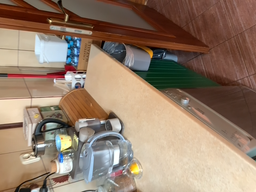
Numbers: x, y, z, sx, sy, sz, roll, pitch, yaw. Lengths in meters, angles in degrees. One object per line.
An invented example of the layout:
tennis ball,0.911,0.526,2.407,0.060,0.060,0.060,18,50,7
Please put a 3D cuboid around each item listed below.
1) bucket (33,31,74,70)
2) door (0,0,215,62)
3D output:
bucket,-0.600,-0.360,1.690,0.240,0.240,0.220,43,127,44
door,-0.410,-0.540,1.310,0.880,2.110,0.090,54,134,37
